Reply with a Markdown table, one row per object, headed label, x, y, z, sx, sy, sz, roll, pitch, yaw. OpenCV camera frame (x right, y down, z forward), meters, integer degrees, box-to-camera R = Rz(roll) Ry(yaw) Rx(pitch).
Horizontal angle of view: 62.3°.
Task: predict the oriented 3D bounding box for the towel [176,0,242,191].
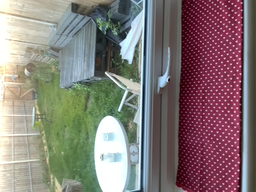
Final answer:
| label | x | y | z | sx | sy | sz | roll | pitch | yaw |
| --- | --- | --- | --- | --- | --- | --- | --- | --- | --- |
| towel | 0.240 | -0.030 | 0.660 | 0.220 | 0.020 | 0.670 | -2 | 85 | 60 |
